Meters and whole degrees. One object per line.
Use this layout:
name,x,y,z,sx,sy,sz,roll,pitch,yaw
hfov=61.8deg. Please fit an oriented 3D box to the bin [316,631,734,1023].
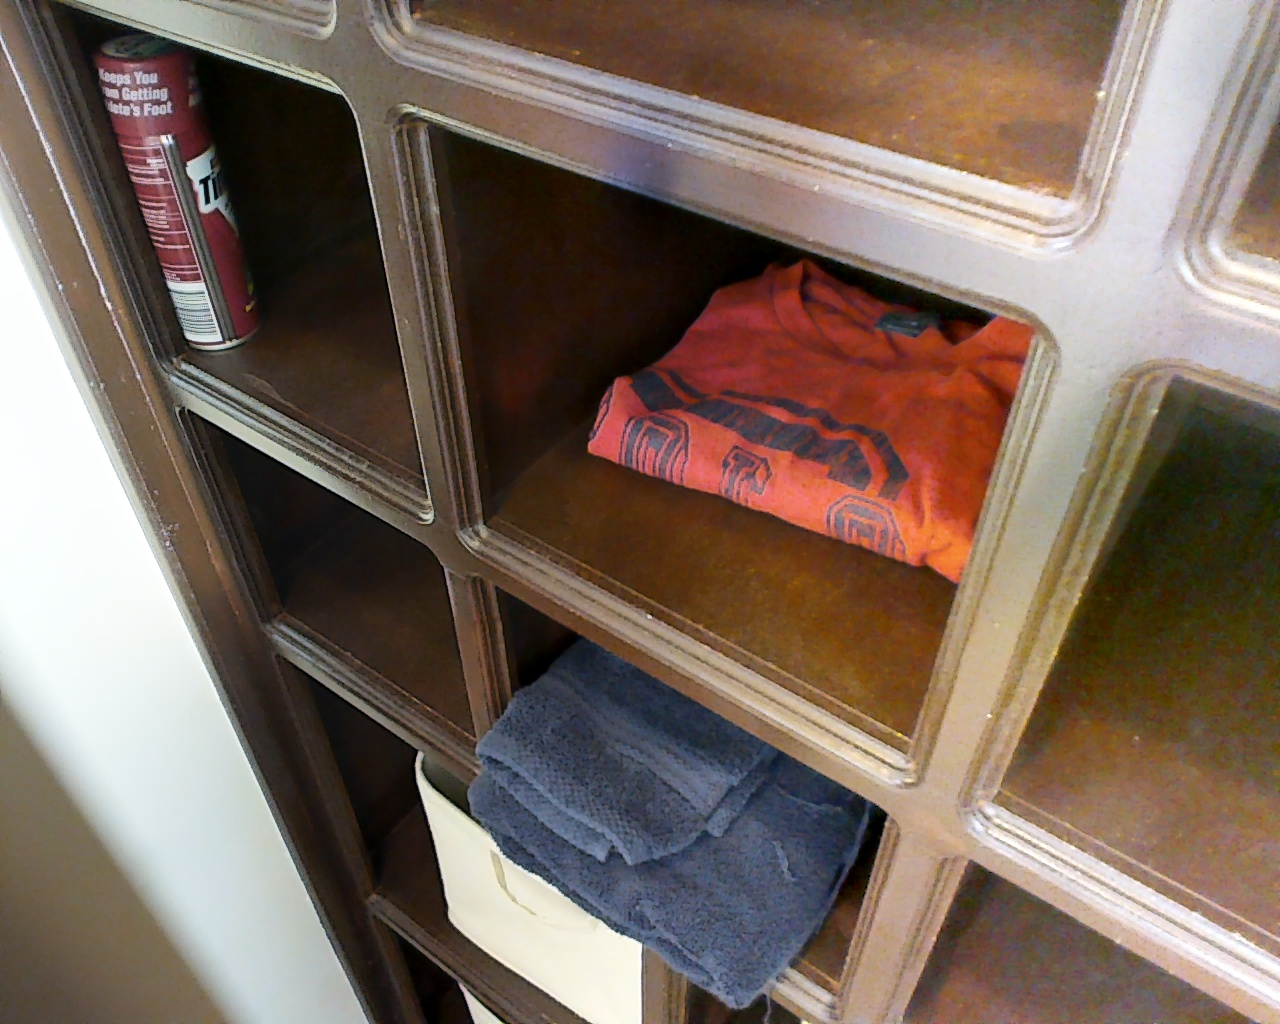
bin,-0.100,0.320,0.980,0.340,0.290,0.130,27,51,25
